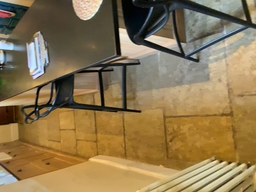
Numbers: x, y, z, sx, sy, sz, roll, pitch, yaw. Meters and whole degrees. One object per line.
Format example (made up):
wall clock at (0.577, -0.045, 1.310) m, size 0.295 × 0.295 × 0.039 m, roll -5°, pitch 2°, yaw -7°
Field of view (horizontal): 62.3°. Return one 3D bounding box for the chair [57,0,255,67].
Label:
chair at (0.220, -0.500, 1.120) m, size 0.550 × 1.000 × 0.510 m, roll -15°, pitch 81°, yaw 48°

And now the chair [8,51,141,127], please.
chair at (-0.430, -0.060, 1.890) m, size 0.510 × 1.010 × 0.490 m, roll -1°, pitch 92°, yaw 48°
